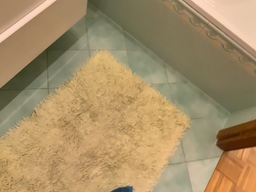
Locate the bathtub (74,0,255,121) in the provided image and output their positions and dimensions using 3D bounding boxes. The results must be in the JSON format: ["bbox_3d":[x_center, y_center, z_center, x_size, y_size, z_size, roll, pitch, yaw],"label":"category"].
[{"bbox_3d":[0.270,-0.690,1.340,1.670,0.550,0.690,39,65,1],"label":"bathtub"}]
